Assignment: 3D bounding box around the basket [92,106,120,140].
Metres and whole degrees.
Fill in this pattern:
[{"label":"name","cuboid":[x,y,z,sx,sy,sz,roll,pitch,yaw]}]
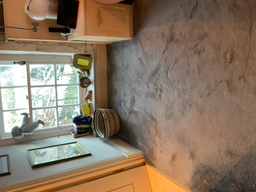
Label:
[{"label":"basket","cuboid":[-0.270,0.310,2.550,0.310,0.220,0.320,13,105,58]}]
